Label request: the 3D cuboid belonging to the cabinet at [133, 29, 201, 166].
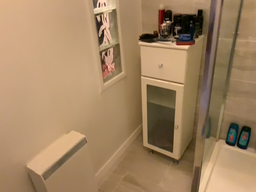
[{"bbox_3d":[0.340,0.030,1.830,0.380,1.090,0.350,14,35,30],"label":"cabinet"}]
